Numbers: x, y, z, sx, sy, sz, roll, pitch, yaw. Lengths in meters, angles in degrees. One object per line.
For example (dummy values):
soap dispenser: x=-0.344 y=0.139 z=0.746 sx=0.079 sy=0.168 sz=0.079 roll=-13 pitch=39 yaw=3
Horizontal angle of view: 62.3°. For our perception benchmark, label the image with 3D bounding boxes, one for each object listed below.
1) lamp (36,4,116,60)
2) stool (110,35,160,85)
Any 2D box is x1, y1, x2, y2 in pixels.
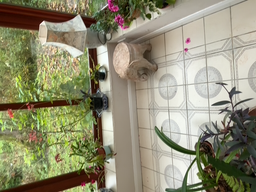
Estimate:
lamp: x=-0.480 y=-0.570 z=2.020 sx=0.290 sy=0.660 sz=0.380 roll=1 pitch=94 yaw=54
stool: x=0.060 y=-0.320 z=2.040 sx=0.350 sy=0.300 sz=0.400 roll=-4 pitch=90 yaw=55
